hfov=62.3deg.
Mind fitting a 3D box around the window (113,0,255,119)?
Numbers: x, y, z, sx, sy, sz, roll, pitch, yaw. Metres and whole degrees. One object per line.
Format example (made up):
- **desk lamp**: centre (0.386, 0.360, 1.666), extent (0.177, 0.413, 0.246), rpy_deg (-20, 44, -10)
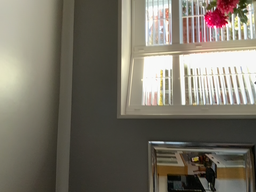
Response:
- **window**: centre (0.610, -0.860, 1.880), extent (0.470, 1.400, 2.110), rpy_deg (26, -116, -78)
